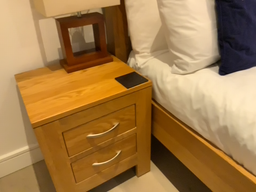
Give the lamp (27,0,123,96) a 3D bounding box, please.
[{"bbox_3d":[-0.230,-0.320,0.960,0.340,0.540,0.200,-18,37,-22],"label":"lamp"}]
